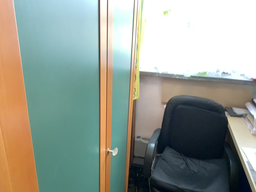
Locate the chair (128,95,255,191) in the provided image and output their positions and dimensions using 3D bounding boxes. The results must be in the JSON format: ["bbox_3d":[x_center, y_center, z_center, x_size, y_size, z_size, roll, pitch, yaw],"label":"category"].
[{"bbox_3d":[0.420,0.540,1.580,0.640,0.810,0.720,9,23,18],"label":"chair"}]
